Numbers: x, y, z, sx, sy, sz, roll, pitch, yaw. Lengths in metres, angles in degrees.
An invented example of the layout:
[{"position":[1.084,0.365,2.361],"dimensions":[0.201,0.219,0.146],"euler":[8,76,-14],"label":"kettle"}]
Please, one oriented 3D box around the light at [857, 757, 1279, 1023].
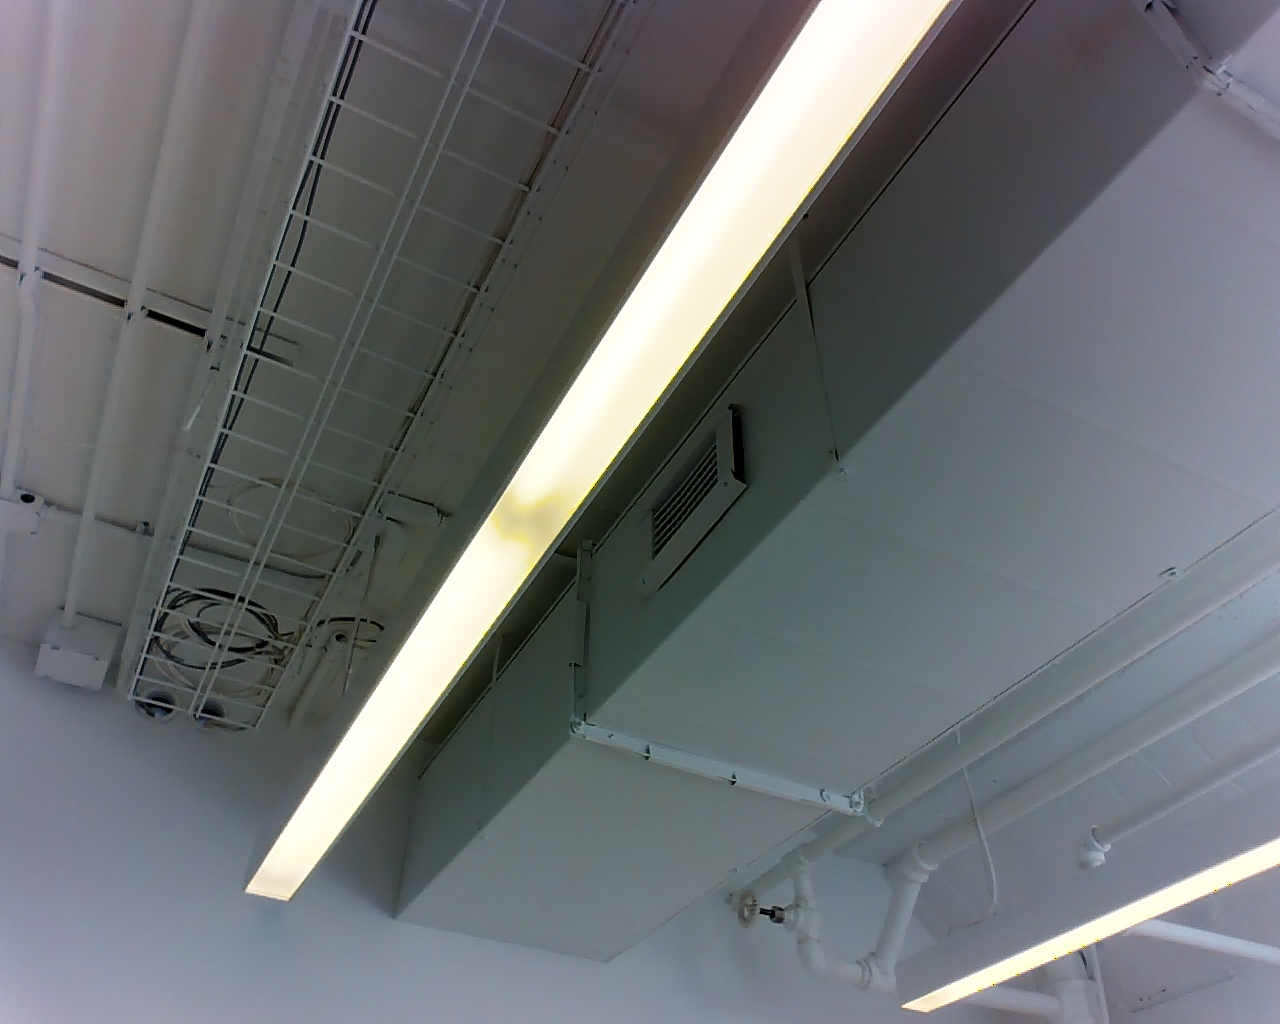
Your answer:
[{"position":[1.289,0.540,1.930],"dimensions":[0.310,0.140,2.500],"euler":[20,-45,-20],"label":"light"}]
